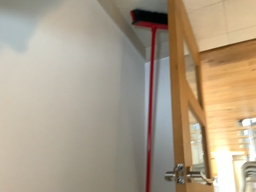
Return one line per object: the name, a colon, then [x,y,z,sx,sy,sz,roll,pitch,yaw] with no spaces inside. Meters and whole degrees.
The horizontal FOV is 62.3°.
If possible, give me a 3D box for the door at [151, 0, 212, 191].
door: [0.300,0.480,0.970,0.070,1.980,0.800,-10,154,25]
